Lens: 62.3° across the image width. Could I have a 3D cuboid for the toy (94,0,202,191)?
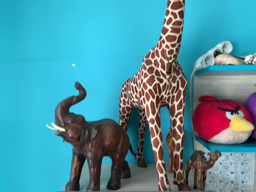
[{"bbox_3d":[0.060,-0.090,0.700,0.260,0.760,0.370,0,1,5],"label":"toy"}]
